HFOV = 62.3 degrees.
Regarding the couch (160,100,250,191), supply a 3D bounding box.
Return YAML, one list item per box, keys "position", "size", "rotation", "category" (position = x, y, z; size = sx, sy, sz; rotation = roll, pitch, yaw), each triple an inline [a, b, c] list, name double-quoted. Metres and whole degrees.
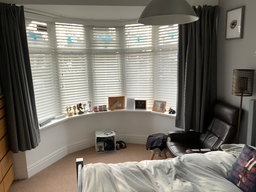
- position: [0.980, 0.620, 2.920]
  size: [0.860, 0.940, 0.750]
  rotation: [-3, 12, -10]
  category: "couch"
